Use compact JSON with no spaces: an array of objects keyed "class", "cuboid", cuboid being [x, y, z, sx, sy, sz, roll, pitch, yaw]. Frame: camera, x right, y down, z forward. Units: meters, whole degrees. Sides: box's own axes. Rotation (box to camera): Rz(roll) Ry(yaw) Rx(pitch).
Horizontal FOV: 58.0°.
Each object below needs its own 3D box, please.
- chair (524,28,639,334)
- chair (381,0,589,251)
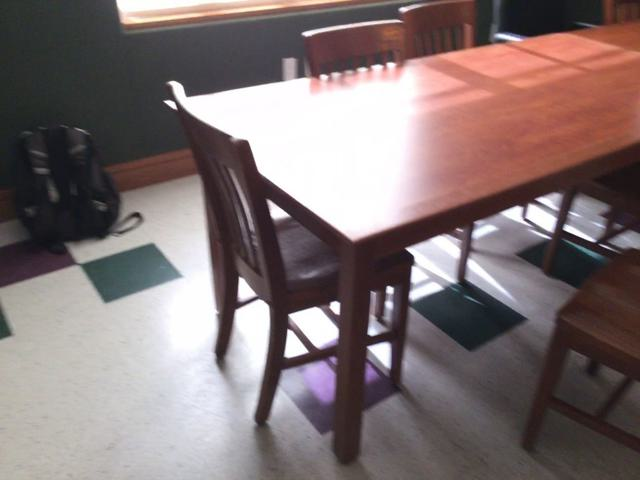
[{"class":"chair","cuboid":[1.250,-0.220,2.030,0.610,0.880,0.620,-20,37,-29]},{"class":"chair","cuboid":[0.650,-0.520,2.460,0.500,0.880,0.530,-21,38,-29]}]
